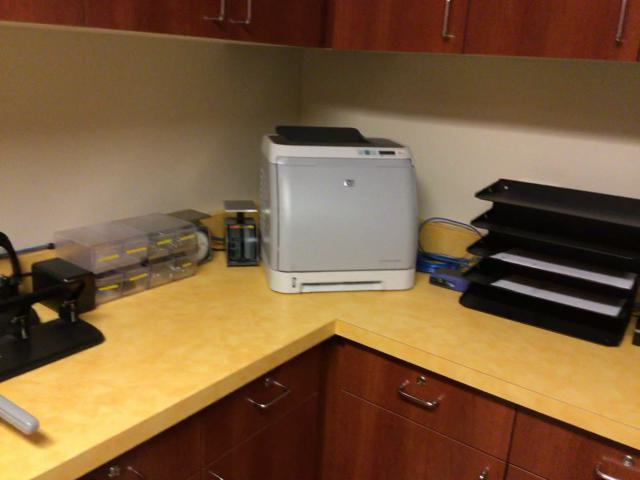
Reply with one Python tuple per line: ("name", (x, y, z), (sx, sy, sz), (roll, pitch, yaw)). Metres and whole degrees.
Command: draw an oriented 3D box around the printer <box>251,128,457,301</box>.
("printer", (0.060, -0.100, 1.660), (0.470, 0.390, 0.440), (-2, 16, -12))
